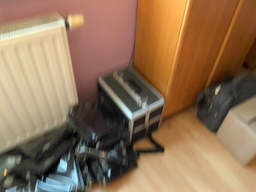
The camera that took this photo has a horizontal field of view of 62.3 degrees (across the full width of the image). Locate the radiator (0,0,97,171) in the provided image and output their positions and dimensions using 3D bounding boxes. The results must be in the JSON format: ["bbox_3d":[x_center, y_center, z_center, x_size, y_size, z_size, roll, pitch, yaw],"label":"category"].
[{"bbox_3d":[-0.600,0.030,0.970,0.910,0.750,0.170,-26,53,-26],"label":"radiator"}]
